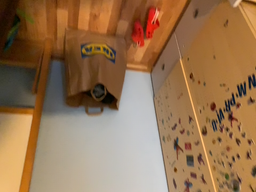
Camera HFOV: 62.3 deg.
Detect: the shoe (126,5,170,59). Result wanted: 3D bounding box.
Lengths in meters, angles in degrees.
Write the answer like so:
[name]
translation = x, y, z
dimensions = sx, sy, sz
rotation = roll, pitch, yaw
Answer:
[shoe]
translation = 0.120, -0.420, 1.450
dimensions = 0.190, 0.070, 0.380
rotation = 4, 147, -13
